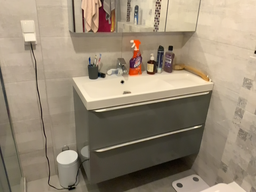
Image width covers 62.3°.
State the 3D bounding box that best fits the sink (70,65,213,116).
[{"bbox_3d":[0.110,-0.090,1.640,0.990,0.100,0.460,-9,27,-26],"label":"sink"}]

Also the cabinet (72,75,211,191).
[{"bbox_3d":[0.100,0.240,1.790,0.990,0.610,0.470,-9,27,-26],"label":"cabinet"}]
